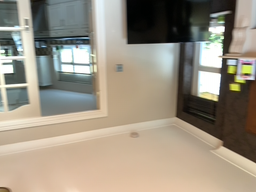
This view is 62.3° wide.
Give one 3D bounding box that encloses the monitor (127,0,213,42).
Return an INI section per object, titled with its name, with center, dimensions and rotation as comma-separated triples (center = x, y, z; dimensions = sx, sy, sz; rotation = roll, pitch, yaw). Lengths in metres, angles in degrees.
[monitor]
center = 0.440, -0.910, 2.360
dimensions = 0.920, 0.600, 0.060
rotation = 3, -166, 13

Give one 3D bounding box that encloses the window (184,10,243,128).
[window]
center = 1.090, -0.360, 2.850
dimensions = 0.160, 1.390, 0.720
rotation = -5, -166, -21
